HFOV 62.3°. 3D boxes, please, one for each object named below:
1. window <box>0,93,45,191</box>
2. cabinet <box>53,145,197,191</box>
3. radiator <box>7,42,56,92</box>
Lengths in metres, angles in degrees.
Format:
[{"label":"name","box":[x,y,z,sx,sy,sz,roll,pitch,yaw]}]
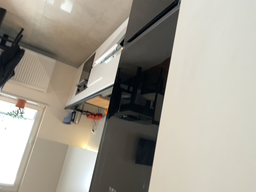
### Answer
[{"label":"window","box":[-2.070,0.780,3.470,0.900,1.580,0.120,19,163,-24]},{"label":"cabinet","box":[-0.410,1.280,2.480,0.400,1.190,2.670,19,163,-24]},{"label":"radiator","box":[-1.620,-0.480,3.590,0.580,0.640,0.180,21,162,-28]}]
